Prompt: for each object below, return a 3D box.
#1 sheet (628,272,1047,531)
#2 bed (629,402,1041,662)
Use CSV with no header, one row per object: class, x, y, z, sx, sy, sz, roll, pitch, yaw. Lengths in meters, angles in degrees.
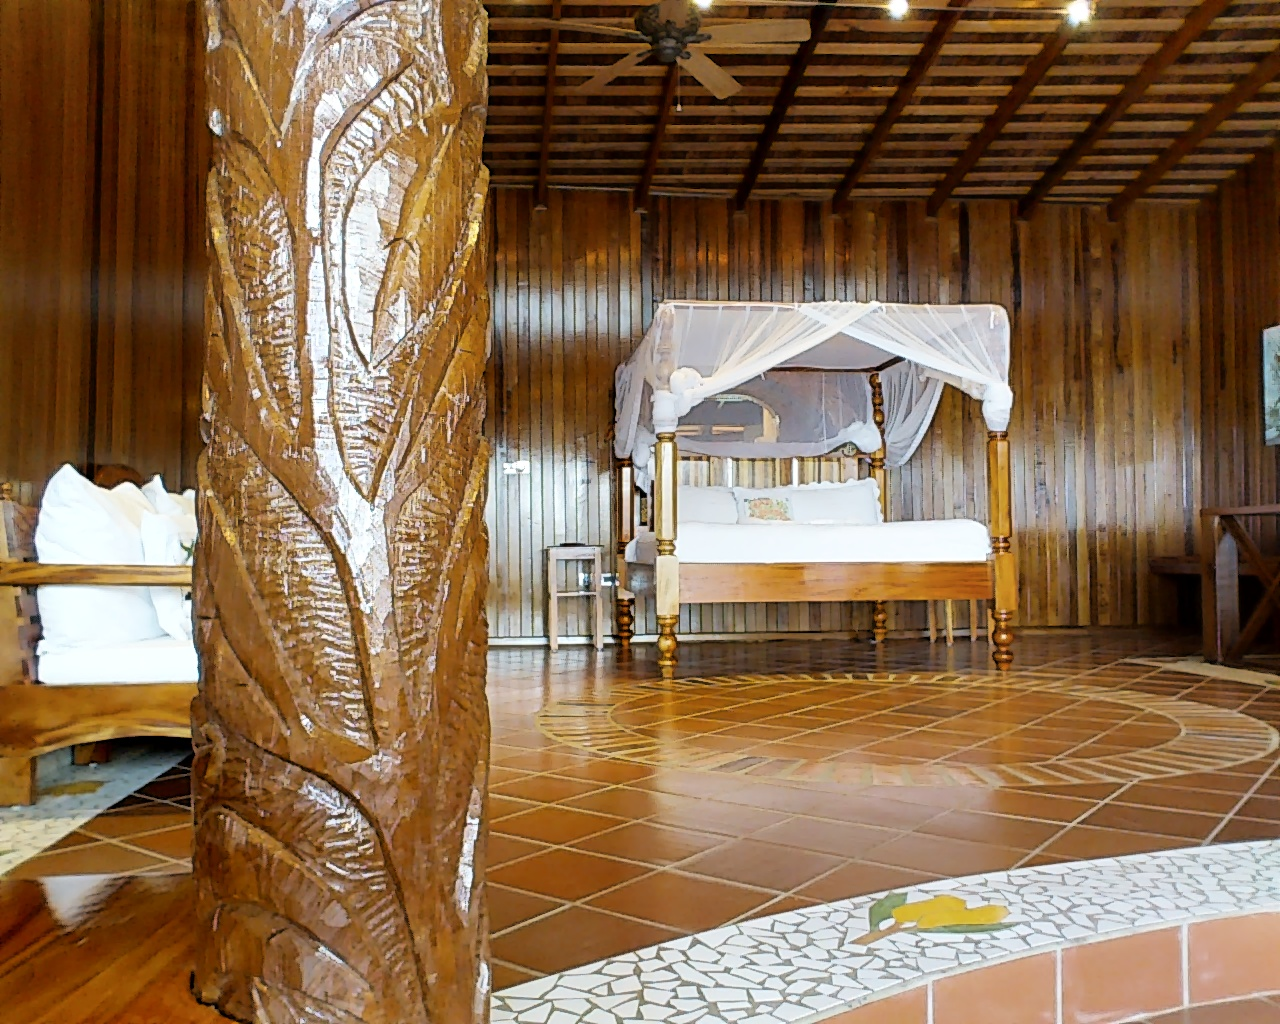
sheet,1.160,-0.620,7.670,2.250,1.460,2.730,0,-2,-6
bed,1.150,0.150,7.620,2.230,1.500,2.600,0,-2,-6
